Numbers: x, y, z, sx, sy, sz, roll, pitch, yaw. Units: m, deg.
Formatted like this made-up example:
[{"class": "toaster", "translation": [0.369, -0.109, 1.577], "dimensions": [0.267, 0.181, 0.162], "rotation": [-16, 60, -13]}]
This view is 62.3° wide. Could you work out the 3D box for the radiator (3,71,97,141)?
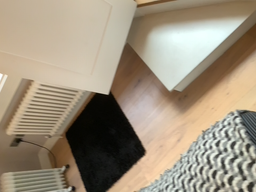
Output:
[{"class": "radiator", "translation": [-0.740, 0.150, 2.020], "dimensions": [0.830, 0.550, 0.070], "rotation": [-49, 54, 24]}]
